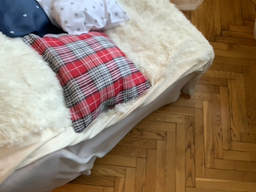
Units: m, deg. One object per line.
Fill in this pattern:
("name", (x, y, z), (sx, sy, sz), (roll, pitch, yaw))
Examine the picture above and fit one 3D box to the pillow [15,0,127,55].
("pillow", (-0.250, -0.440, 0.930), (0.380, 0.180, 0.320), (-41, 78, -16))
